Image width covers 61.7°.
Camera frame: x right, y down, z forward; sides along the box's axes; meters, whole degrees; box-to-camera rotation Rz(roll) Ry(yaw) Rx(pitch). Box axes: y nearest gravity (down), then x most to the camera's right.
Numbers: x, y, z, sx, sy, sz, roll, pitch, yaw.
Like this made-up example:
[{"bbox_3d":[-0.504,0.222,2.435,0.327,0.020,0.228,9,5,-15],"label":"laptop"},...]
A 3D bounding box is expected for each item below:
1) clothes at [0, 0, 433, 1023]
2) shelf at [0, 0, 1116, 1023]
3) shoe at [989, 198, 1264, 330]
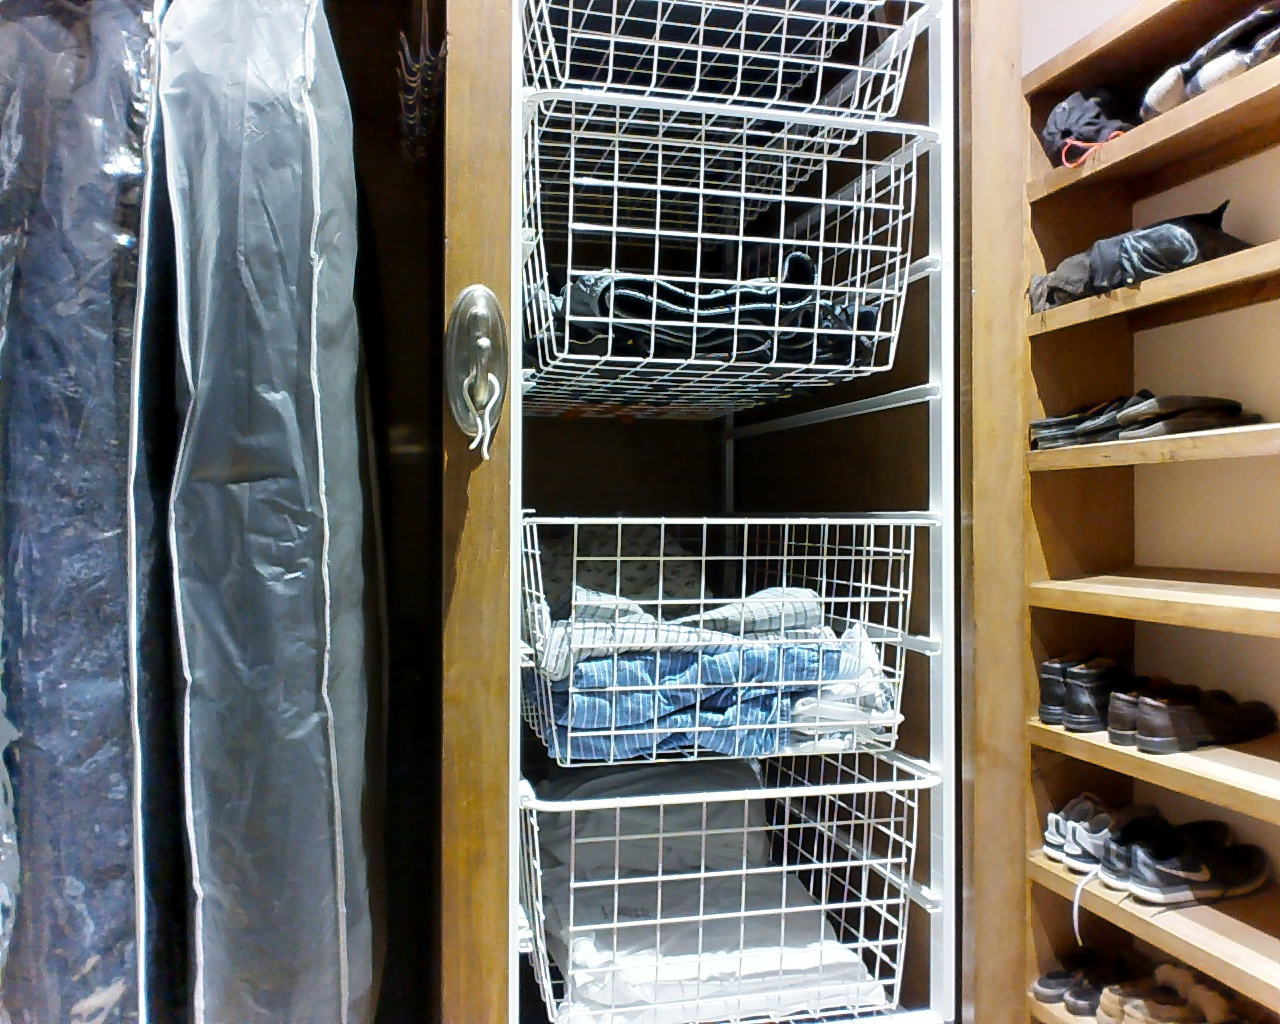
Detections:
[{"bbox_3d":[-0.360,0.120,0.720,0.410,1.040,0.180,1,-1,-16],"label":"clothes"},{"bbox_3d":[-0.280,0.350,0.950,1.130,2.141,0.650,1,-1,-16],"label":"shelf"},{"bbox_3d":[0.990,-0.500,2.230,0.300,0.140,0.450,1,-2,-16],"label":"shoe"}]
